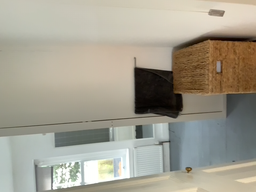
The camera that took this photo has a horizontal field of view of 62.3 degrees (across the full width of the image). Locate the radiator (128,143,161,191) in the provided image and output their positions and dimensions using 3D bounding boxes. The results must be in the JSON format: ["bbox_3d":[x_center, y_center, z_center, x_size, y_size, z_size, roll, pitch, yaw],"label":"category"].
[{"bbox_3d":[0.290,1.460,3.530,0.080,0.530,1.280,-175,83,-75],"label":"radiator"}]
